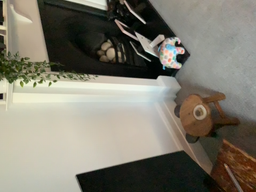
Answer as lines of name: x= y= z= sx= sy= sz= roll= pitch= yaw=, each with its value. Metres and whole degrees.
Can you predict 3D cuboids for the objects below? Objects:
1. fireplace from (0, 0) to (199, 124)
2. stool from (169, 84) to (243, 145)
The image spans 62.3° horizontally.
fireplace: x=-0.390 y=-0.610 z=1.890 sx=0.690 sy=1.250 sz=1.510 roll=-56 pitch=45 yaw=40
stool: x=0.500 y=0.120 z=1.400 sx=0.280 sy=0.250 sz=0.270 roll=-58 pitch=44 yaw=38
